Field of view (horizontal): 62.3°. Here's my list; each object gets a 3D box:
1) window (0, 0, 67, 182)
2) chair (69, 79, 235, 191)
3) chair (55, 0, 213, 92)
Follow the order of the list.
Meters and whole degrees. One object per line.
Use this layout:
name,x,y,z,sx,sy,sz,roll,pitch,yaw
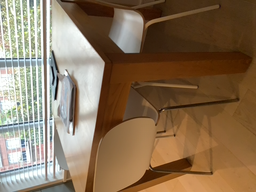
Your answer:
window,-1.290,0.040,1.740,0.150,1.460,2.030,51,138,45
chair,0.110,0.210,1.220,0.430,0.780,0.430,44,133,50
chair,0.000,-0.370,1.310,0.460,0.780,0.450,50,137,46
